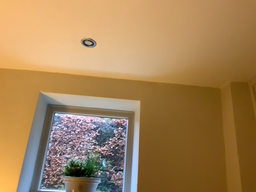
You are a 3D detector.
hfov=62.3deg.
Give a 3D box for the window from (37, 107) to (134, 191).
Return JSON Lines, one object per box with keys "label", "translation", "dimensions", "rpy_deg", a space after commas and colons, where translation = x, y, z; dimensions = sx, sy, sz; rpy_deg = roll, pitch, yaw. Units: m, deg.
{"label": "window", "translation": [-0.310, 0.450, 1.730], "dimensions": [0.700, 0.690, 0.040], "rpy_deg": [4, -22, -5]}
